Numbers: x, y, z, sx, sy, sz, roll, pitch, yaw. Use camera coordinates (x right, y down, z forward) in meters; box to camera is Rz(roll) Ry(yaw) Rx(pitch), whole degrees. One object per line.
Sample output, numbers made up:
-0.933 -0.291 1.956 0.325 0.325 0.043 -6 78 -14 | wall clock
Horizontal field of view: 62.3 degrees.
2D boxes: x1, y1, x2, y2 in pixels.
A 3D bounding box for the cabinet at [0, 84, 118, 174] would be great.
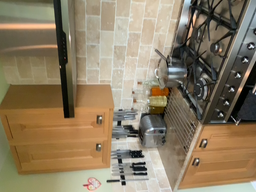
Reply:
-0.540 0.270 1.740 0.280 0.830 0.690 -107 20 -54 | cabinet
